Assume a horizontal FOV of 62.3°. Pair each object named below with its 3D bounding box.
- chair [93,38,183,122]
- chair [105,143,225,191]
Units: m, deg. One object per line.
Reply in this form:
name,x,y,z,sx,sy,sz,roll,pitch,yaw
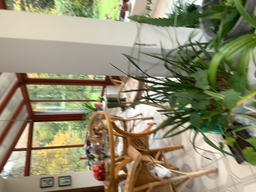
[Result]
chair,0.050,-0.190,2.550,0.600,0.820,0.770,-115,30,-55
chair,0.260,0.840,1.820,0.660,0.810,0.690,178,92,-73
